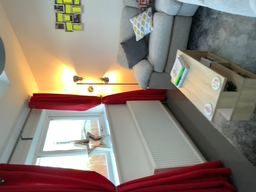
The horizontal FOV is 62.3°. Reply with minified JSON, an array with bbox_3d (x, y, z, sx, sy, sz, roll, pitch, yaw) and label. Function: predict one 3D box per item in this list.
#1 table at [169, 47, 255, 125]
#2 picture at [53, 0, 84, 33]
[{"bbox_3d":[0.830,-0.150,2.160,0.940,0.430,0.430,-113,28,-61],"label":"table"},{"bbox_3d":[-0.960,-1.370,3.430,0.060,0.470,0.650,-114,27,-61],"label":"picture"}]
